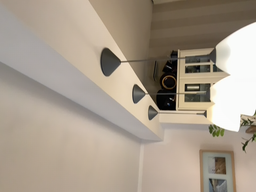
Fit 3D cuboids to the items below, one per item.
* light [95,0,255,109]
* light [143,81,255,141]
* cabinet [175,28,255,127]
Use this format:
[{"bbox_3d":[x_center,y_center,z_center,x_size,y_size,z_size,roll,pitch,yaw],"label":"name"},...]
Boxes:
[{"bbox_3d":[0.240,-0.150,0.820,0.250,0.650,0.320,49,-140,-63],"label":"light"},{"bbox_3d":[0.520,0.120,1.640,0.310,0.730,0.350,52,-139,-62],"label":"light"},{"bbox_3d":[0.930,-0.180,2.170,0.330,0.820,0.900,50,-137,-63],"label":"cabinet"}]
